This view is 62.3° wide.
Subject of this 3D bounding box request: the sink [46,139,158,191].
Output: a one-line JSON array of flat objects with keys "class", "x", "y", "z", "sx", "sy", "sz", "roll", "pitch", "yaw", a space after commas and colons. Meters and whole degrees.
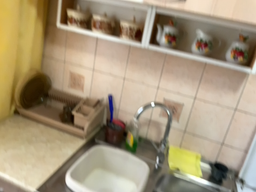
[{"class": "sink", "x": -0.100, "y": 0.440, "z": 1.040, "sx": 0.390, "sy": 0.160, "sz": 0.420, "roll": 17, "pitch": 21, "yaw": 14}]
